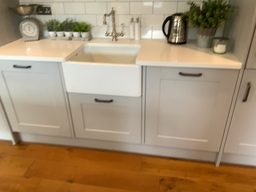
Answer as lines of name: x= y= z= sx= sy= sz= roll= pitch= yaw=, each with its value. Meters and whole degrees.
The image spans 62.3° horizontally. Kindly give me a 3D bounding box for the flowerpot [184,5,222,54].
flowerpot: x=0.570 y=-0.530 z=1.660 sx=0.210 sy=0.310 sz=0.270 roll=5 pitch=30 yaw=10
